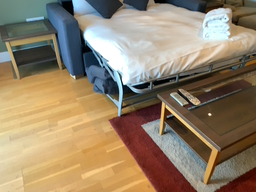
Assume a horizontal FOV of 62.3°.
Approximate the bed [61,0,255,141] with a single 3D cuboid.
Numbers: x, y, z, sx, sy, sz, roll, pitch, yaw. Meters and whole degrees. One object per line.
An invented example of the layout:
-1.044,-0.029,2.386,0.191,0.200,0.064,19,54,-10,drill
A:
0.230,-0.640,2.680,1.560,0.630,2.160,-16,39,-21,bed
